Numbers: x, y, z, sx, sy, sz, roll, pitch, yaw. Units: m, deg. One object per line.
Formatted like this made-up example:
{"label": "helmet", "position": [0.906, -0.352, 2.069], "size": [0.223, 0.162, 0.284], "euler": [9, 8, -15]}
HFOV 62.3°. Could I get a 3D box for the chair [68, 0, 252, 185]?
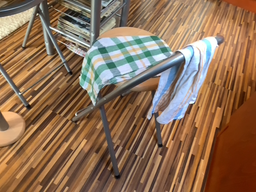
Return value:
{"label": "chair", "position": [0.010, -0.010, 0.850], "size": [0.330, 0.750, 0.400], "euler": [-21, 60, -25]}
